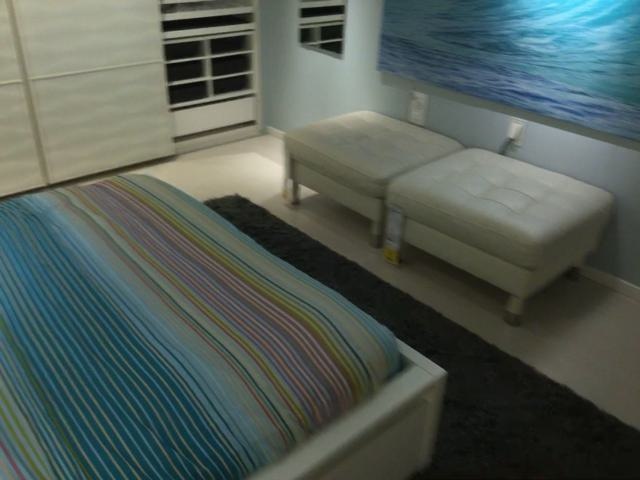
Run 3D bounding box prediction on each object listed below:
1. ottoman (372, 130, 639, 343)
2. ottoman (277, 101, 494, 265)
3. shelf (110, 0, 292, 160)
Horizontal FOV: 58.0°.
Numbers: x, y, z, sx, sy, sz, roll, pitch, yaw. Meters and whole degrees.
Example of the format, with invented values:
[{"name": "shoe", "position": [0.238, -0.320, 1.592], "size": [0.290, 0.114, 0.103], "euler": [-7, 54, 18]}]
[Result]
[{"name": "ottoman", "position": [0.750, -0.080, 2.430], "size": [0.640, 0.450, 0.820], "euler": [-23, 37, -35]}, {"name": "ottoman", "position": [0.300, -0.340, 2.920], "size": [0.630, 0.440, 0.850], "euler": [-23, 37, -35]}, {"name": "shelf", "position": [-0.730, -1.730, 3.370], "size": [0.830, 2.270, 0.700], "euler": [-23, 37, -35]}]
